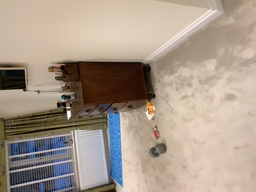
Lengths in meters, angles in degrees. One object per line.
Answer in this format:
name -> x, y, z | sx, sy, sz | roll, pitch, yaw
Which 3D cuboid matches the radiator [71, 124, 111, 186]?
radiator -> -0.780, 1.210, 4.490 | 0.110, 0.720, 1.150 | -21, 75, 63
